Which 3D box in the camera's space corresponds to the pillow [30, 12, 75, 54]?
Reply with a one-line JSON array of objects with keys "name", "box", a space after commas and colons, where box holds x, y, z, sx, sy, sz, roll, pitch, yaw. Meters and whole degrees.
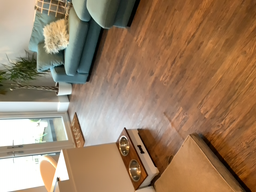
[{"name": "pillow", "box": [-1.100, -0.940, 3.150, 0.140, 0.490, 0.500, -34, 24, 27]}]

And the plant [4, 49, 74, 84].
[{"name": "plant", "box": [-1.690, -0.540, 4.060, 0.340, 1.160, 0.490, -62, 41, 37]}]

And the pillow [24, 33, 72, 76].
[{"name": "pillow", "box": [-1.240, -0.660, 3.340, 0.240, 0.500, 0.480, -28, 105, 32]}]

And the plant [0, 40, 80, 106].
[{"name": "plant", "box": [-2.080, -0.380, 3.690, 0.640, 2.190, 0.920, 61, 138, 39]}]

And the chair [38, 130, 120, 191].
[{"name": "chair", "box": [-0.680, 0.960, 2.770, 0.630, 0.760, 0.740, 58, 136, 41]}]
